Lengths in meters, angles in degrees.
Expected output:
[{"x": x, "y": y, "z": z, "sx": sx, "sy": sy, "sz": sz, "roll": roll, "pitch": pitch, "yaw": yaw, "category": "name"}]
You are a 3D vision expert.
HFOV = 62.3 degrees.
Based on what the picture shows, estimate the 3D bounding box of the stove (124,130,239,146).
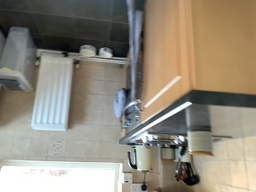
[{"x": 0.300, "y": 0.300, "z": 1.460, "sx": 0.580, "sy": 0.030, "sz": 0.600, "roll": 4, "pitch": 163, "yaw": -8, "category": "stove"}]
